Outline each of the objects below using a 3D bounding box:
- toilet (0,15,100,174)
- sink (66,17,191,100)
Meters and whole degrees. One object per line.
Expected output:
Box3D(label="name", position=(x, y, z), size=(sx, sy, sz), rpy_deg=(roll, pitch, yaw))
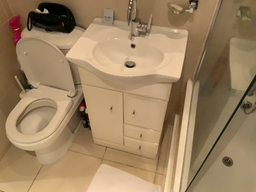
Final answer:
Box3D(label="toilet", position=(-0.550, 0.010, 1.480), size=(0.410, 0.810, 0.670), rpy_deg=(13, 49, 11))
Box3D(label="sink", position=(0.020, -0.230, 1.180), size=(0.580, 0.160, 0.370), rpy_deg=(13, 49, 11))
